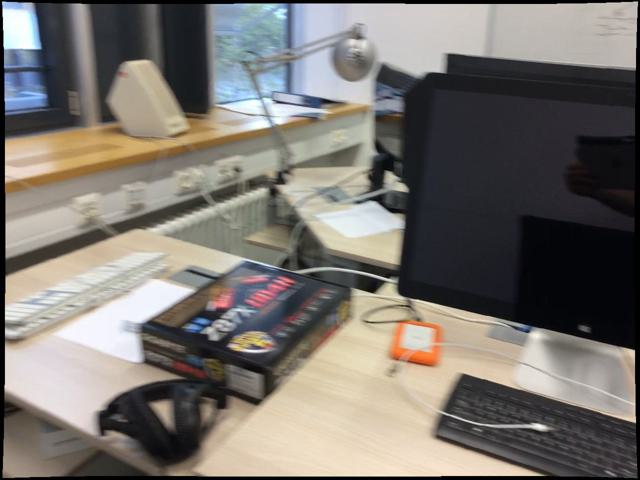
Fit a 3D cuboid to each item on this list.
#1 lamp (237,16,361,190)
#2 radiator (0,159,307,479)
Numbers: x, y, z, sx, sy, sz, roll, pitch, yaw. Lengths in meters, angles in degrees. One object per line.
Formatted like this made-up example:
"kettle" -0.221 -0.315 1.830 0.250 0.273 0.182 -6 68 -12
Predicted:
"lamp" -0.080 -0.480 2.000 0.350 0.530 0.210 -14 28 -36
"radiator" -0.619 0.180 1.910 0.330 0.500 1.780 13 24 24
